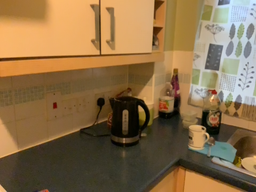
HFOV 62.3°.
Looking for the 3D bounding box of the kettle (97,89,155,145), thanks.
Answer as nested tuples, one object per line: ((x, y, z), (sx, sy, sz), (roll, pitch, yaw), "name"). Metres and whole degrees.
((-0.010, 0.100, 1.190), (0.210, 0.220, 0.250), (12, 17, 37), "kettle")
